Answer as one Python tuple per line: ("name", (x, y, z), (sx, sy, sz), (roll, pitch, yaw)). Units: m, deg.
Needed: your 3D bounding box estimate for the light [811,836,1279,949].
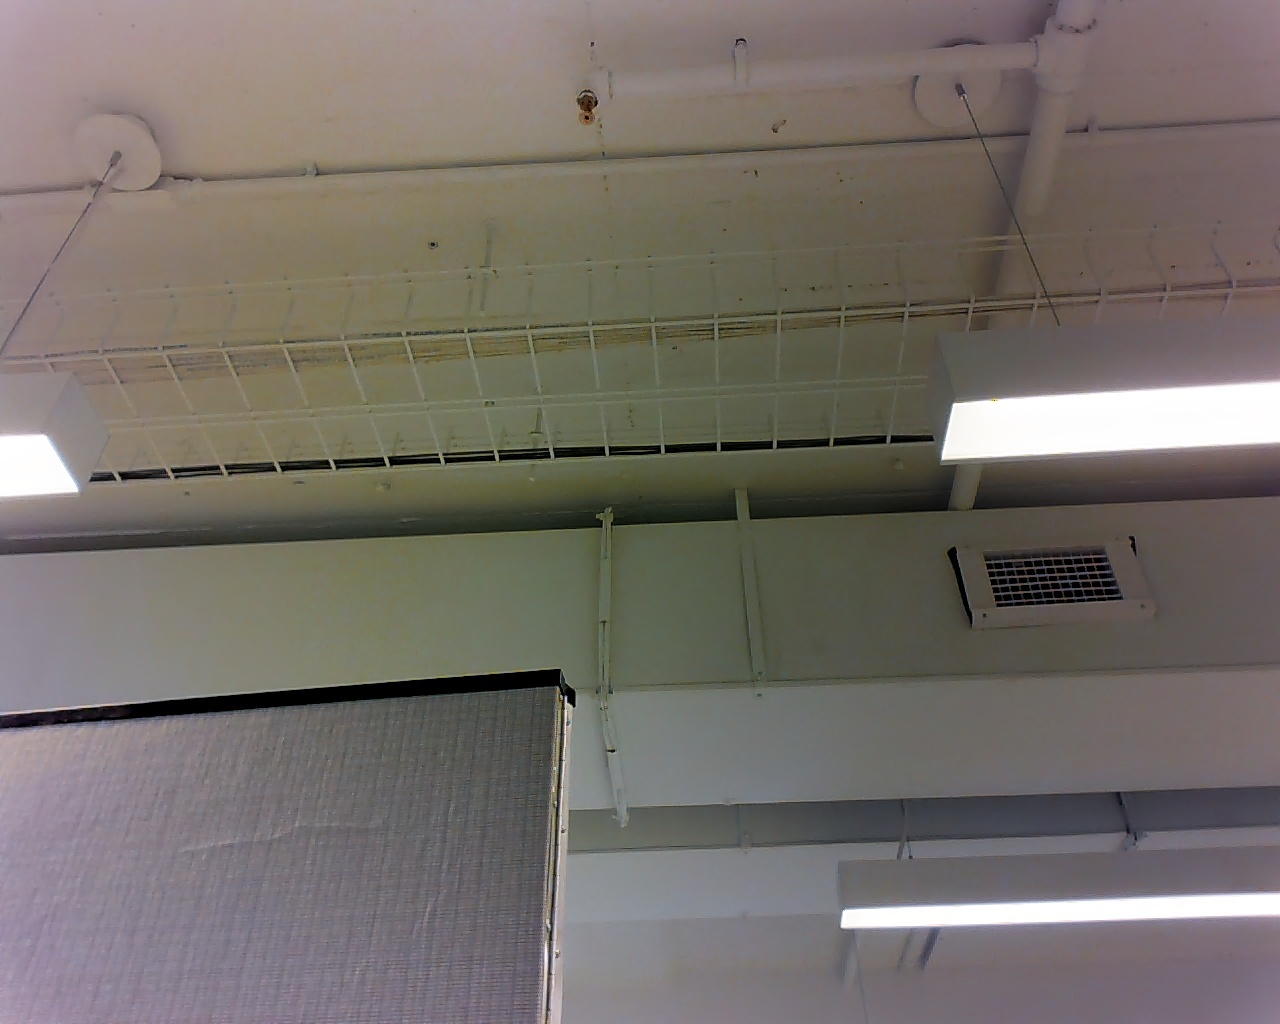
("light", (1.619, 0.761, 2.190), (2.498, 0.140, 0.180), (-2, -42, 2))
